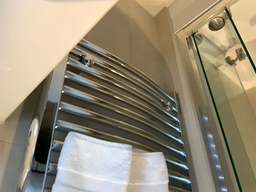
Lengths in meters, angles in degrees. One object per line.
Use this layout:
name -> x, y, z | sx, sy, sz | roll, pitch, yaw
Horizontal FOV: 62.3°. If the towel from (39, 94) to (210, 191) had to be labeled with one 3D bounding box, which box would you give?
towel -> 0.000, 0.220, 0.380 | 0.300, 0.320, 0.140 | 31, 135, -23
